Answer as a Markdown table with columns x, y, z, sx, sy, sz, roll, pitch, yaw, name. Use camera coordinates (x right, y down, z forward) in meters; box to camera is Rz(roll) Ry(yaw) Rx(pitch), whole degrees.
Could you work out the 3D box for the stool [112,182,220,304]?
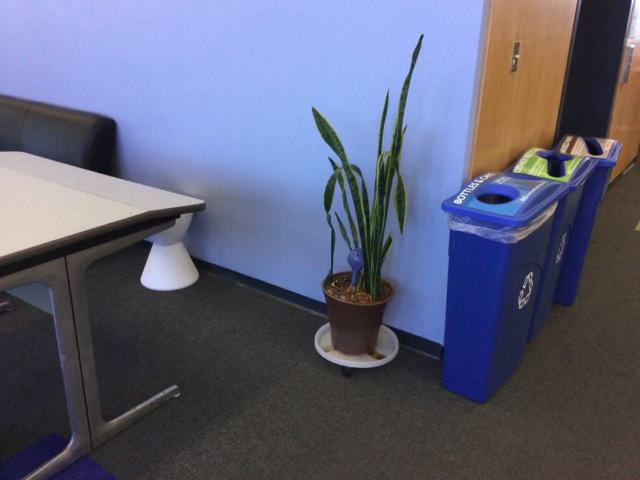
| x | y | z | sx | sy | sz | roll | pitch | yaw | name |
| --- | --- | --- | --- | --- | --- | --- | --- | --- | --- |
| -0.790 | 0.000 | 2.950 | 0.370 | 0.460 | 0.340 | 22 | 24 | 27 | stool |
